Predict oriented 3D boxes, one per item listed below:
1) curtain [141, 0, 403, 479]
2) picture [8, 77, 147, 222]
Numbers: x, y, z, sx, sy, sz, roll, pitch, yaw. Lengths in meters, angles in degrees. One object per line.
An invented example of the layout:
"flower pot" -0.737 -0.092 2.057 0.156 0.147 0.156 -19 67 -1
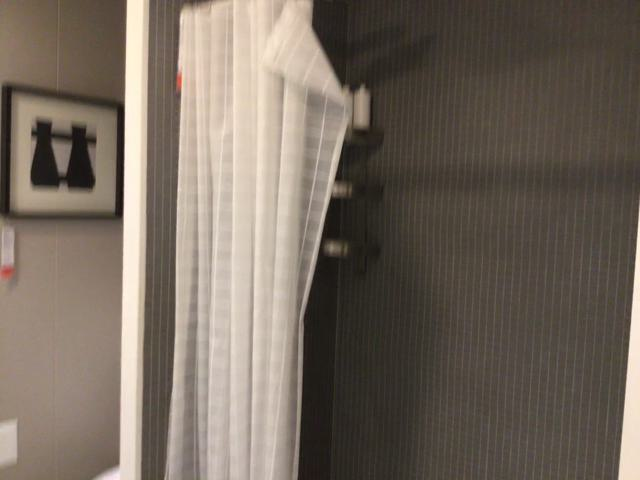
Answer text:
"curtain" -0.160 0.280 1.530 0.640 1.930 0.250 3 1 38
"picture" -1.020 -0.360 2.490 0.080 0.540 0.570 3 1 38
